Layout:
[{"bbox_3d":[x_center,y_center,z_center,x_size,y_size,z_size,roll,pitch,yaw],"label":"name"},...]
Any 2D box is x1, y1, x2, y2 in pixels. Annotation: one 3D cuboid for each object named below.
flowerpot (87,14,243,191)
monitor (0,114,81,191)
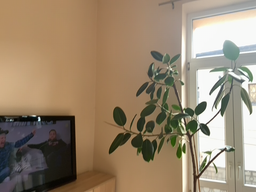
[{"bbox_3d":[0.320,0.610,1.940,1.260,2.290,0.580,-1,-6,30],"label":"flowerpot"},{"bbox_3d":[-0.790,0.470,1.760,0.060,0.640,1.090,-1,-4,28],"label":"monitor"}]
